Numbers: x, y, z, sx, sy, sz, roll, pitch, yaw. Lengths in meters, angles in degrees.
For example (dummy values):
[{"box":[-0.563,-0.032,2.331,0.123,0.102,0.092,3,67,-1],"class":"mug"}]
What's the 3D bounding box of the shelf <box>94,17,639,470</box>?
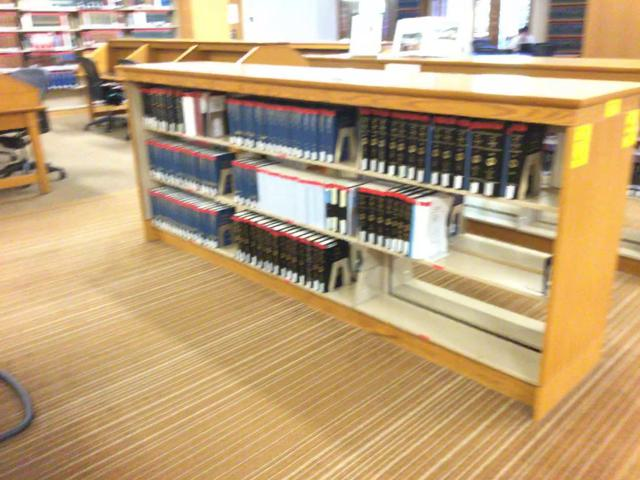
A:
[{"box":[0.020,-0.320,2.940,2.880,1.320,0.790,22,30,37],"class":"shelf"}]
